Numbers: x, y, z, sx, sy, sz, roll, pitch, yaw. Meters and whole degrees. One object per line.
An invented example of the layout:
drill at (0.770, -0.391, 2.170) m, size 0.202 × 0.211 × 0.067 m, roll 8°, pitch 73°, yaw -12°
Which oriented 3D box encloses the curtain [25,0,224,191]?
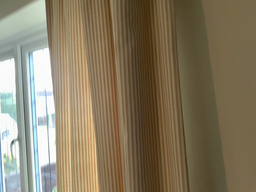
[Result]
curtain at (-0.020, 0.520, 0.550) m, size 0.500 × 2.410 × 0.150 m, roll -3°, pitch 0°, yaw 35°

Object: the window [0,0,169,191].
window at (-0.450, 0.220, 1.260) m, size 1.430 × 1.180 × 0.070 m, roll -3°, pitch 0°, yaw 35°
